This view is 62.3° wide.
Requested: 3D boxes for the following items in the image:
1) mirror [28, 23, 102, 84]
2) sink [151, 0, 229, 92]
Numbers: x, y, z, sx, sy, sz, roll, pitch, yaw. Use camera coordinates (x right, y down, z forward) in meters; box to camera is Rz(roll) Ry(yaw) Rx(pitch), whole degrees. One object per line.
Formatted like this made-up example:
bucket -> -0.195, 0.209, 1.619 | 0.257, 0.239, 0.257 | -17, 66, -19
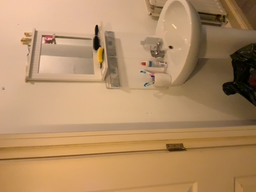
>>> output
mirror -> -0.390, -0.280, 1.360 | 0.050, 0.410, 0.440 | 112, 154, -55
sink -> 0.340, -0.370, 1.350 | 0.420, 0.170, 0.550 | 111, 155, -54
